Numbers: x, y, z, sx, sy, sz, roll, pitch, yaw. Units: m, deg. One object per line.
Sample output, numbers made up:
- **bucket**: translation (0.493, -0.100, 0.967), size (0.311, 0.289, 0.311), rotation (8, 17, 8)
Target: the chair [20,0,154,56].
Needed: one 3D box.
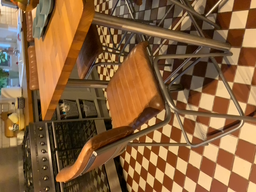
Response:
- **chair**: translation (-0.360, -0.710, 1.850), size (0.460, 0.990, 0.440), rotation (-49, 51, 47)
